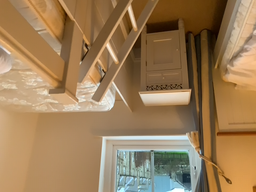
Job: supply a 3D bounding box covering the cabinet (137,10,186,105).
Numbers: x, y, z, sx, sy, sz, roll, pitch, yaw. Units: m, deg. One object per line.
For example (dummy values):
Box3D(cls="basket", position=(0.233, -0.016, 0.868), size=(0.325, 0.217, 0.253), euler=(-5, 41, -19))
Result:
Box3D(cls="cabinet", position=(0.290, -0.320, 1.880), size=(0.360, 0.690, 0.400), euler=(-3, 158, 11))
